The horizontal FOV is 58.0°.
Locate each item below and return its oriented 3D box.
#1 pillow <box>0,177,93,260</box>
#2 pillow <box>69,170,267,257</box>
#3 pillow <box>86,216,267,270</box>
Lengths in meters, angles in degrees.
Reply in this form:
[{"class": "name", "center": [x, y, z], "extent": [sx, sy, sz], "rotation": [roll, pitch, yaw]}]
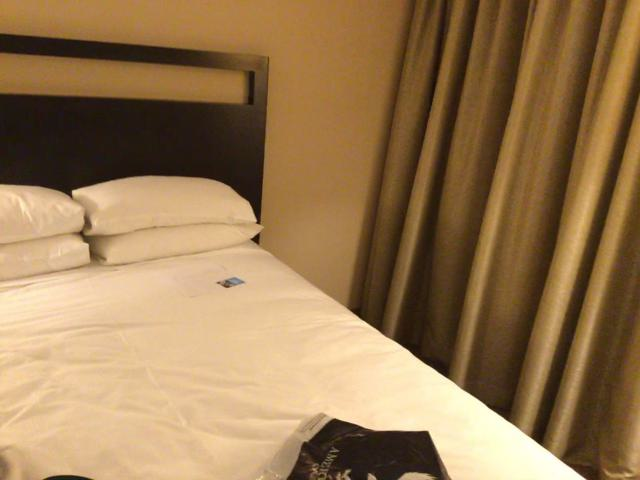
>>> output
[{"class": "pillow", "center": [-1.110, -0.080, 1.910], "extent": [0.620, 0.200, 0.380], "rotation": [-3, 16, -29]}, {"class": "pillow", "center": [-0.580, -0.120, 2.200], "extent": [0.640, 0.230, 0.390], "rotation": [-3, 16, -29]}, {"class": "pillow", "center": [-0.520, 0.000, 2.130], "extent": [0.610, 0.120, 0.210], "rotation": [-3, 16, -29]}]
